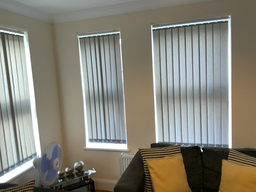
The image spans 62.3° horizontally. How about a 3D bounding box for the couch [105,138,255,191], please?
[{"bbox_3d":[0.730,0.990,2.090,1.570,0.760,1.040,-1,7,19],"label":"couch"}]
